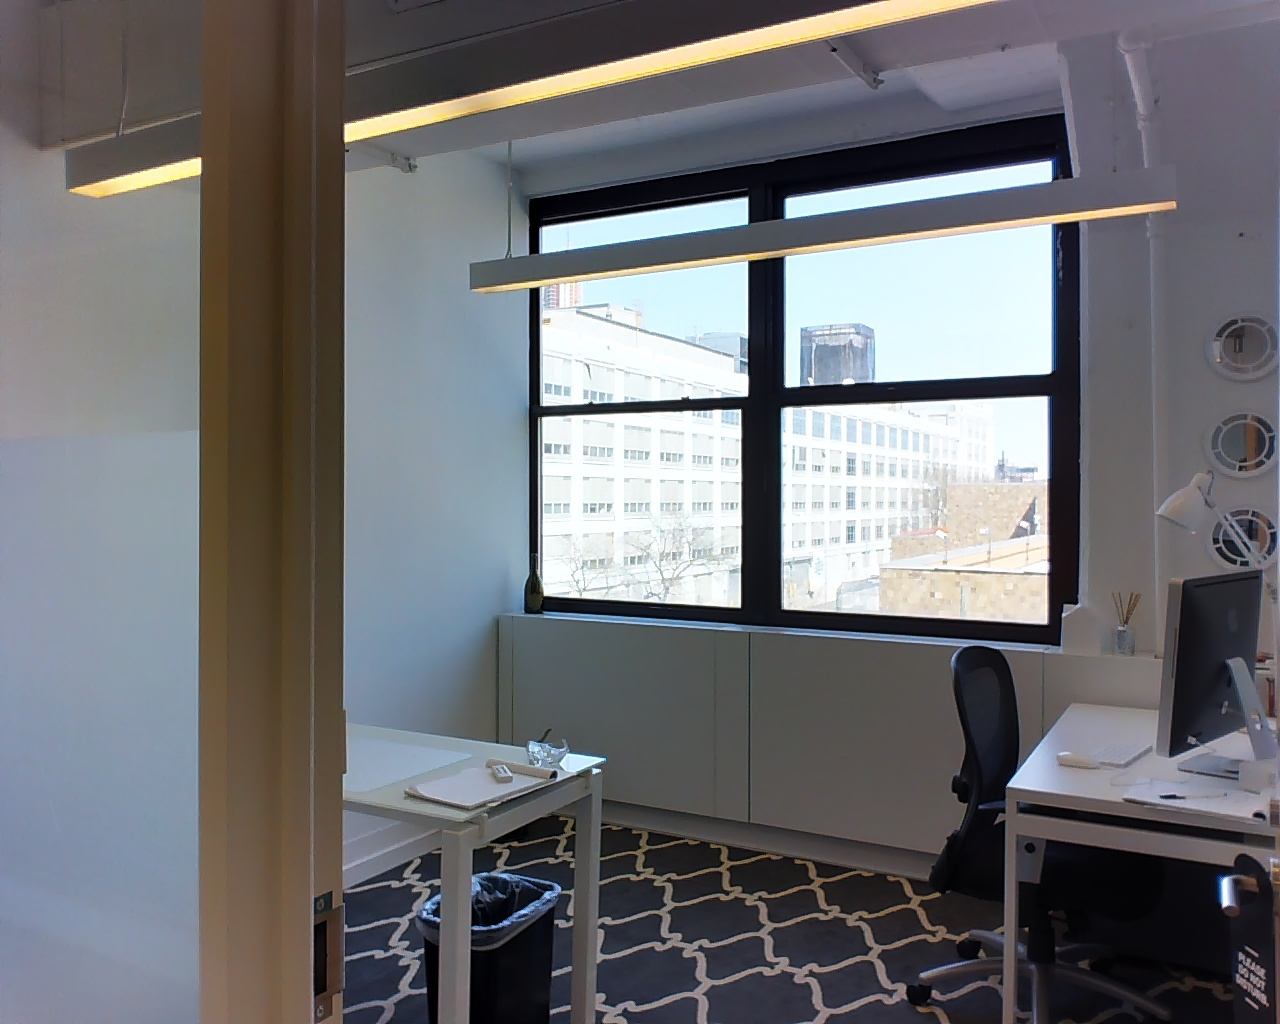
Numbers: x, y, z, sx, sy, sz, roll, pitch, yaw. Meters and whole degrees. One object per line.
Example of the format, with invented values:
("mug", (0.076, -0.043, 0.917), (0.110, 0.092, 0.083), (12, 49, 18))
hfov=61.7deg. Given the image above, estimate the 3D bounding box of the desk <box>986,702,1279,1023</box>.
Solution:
("desk", (1.520, 1.050, 3.090), (0.750, 0.720, 1.360), (1, 0, 29))
